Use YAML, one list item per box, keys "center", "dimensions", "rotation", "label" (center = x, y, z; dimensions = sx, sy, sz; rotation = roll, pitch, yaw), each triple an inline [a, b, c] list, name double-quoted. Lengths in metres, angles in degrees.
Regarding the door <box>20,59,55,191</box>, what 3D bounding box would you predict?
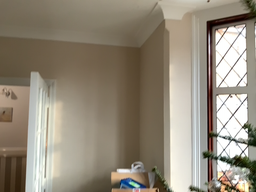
- center: [-0.760, 0.800, 1.820]
  dimensions: [0.070, 2.040, 0.970]
  rotation: [2, -3, -13]
  label: "door"
